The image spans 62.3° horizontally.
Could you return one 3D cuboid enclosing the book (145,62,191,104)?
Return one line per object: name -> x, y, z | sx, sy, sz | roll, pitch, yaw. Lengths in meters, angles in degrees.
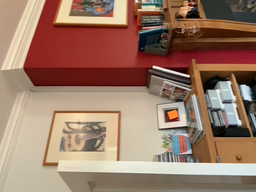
book -> 0.320, -0.100, 1.800 | 0.330, 0.310, 0.200 | 91, 179, -58
